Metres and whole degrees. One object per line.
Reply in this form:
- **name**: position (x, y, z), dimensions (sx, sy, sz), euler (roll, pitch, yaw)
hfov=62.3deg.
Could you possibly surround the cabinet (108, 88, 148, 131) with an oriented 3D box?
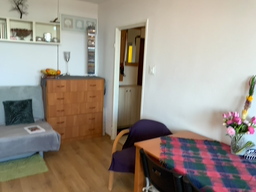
- **cabinet**: position (0.000, 0.260, 4.640), dimensions (0.730, 0.780, 0.440), euler (-4, 12, -37)

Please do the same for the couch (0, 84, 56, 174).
- **couch**: position (-2.110, 0.400, 2.770), dimensions (2.020, 0.950, 1.100), euler (-3, 12, -32)

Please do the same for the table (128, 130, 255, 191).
- **table**: position (0.650, 0.860, 1.670), dimensions (0.760, 0.750, 1.210), euler (-3, 12, -33)
